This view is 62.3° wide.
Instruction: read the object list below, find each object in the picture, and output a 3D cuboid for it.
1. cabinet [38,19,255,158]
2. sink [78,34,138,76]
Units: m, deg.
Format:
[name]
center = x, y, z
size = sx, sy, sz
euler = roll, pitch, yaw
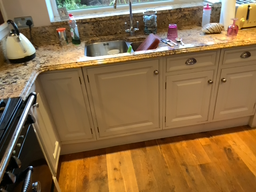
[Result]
[cabinet]
center = 0.310, -0.110, 2.040
size = 1.900, 0.910, 0.650
euler = -7, 32, -5
[sink]
center = -0.170, -0.360, 1.790
size = 0.440, 0.160, 0.420
euler = -7, 32, -5
